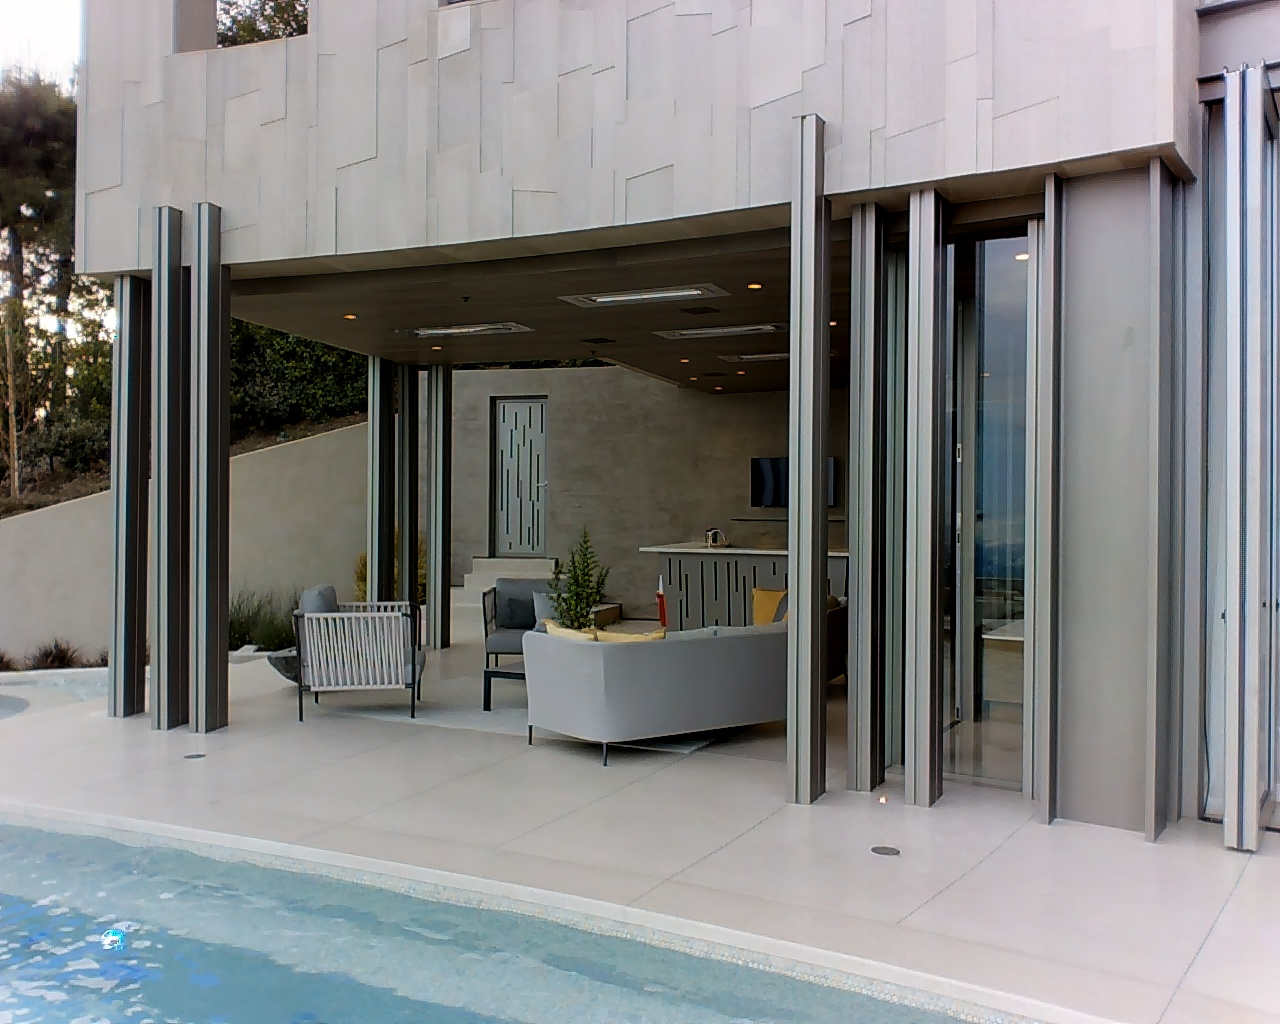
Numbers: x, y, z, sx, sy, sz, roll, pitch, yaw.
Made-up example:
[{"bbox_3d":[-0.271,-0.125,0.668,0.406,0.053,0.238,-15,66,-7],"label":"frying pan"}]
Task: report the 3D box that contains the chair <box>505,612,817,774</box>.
[{"bbox_3d":[0.140,1.110,7.010,1.760,0.780,1.010,1,-1,-31],"label":"chair"}]
